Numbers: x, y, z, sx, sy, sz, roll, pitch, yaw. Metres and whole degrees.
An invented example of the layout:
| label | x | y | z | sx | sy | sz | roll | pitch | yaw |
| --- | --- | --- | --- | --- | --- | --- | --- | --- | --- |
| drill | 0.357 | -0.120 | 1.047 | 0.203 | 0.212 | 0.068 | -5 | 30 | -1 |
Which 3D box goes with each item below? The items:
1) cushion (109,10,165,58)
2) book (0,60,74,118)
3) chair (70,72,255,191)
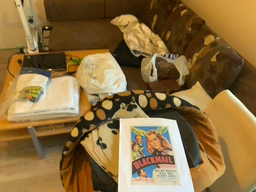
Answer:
| label | x | y | z | sx | sy | sz | roll | pitch | yaw |
| --- | --- | --- | --- | --- | --- | --- | --- | --- | --- |
| cushion | 0.060 | -0.700 | 2.270 | 0.400 | 0.090 | 0.880 | -5 | 44 | -11 |
| book | -0.610 | -0.070 | 1.500 | 0.420 | 0.120 | 0.420 | -6 | 44 | -12 |
| chair | 0.120 | 0.420 | 1.060 | 0.670 | 0.910 | 0.480 | -7 | 44 | -13 |
